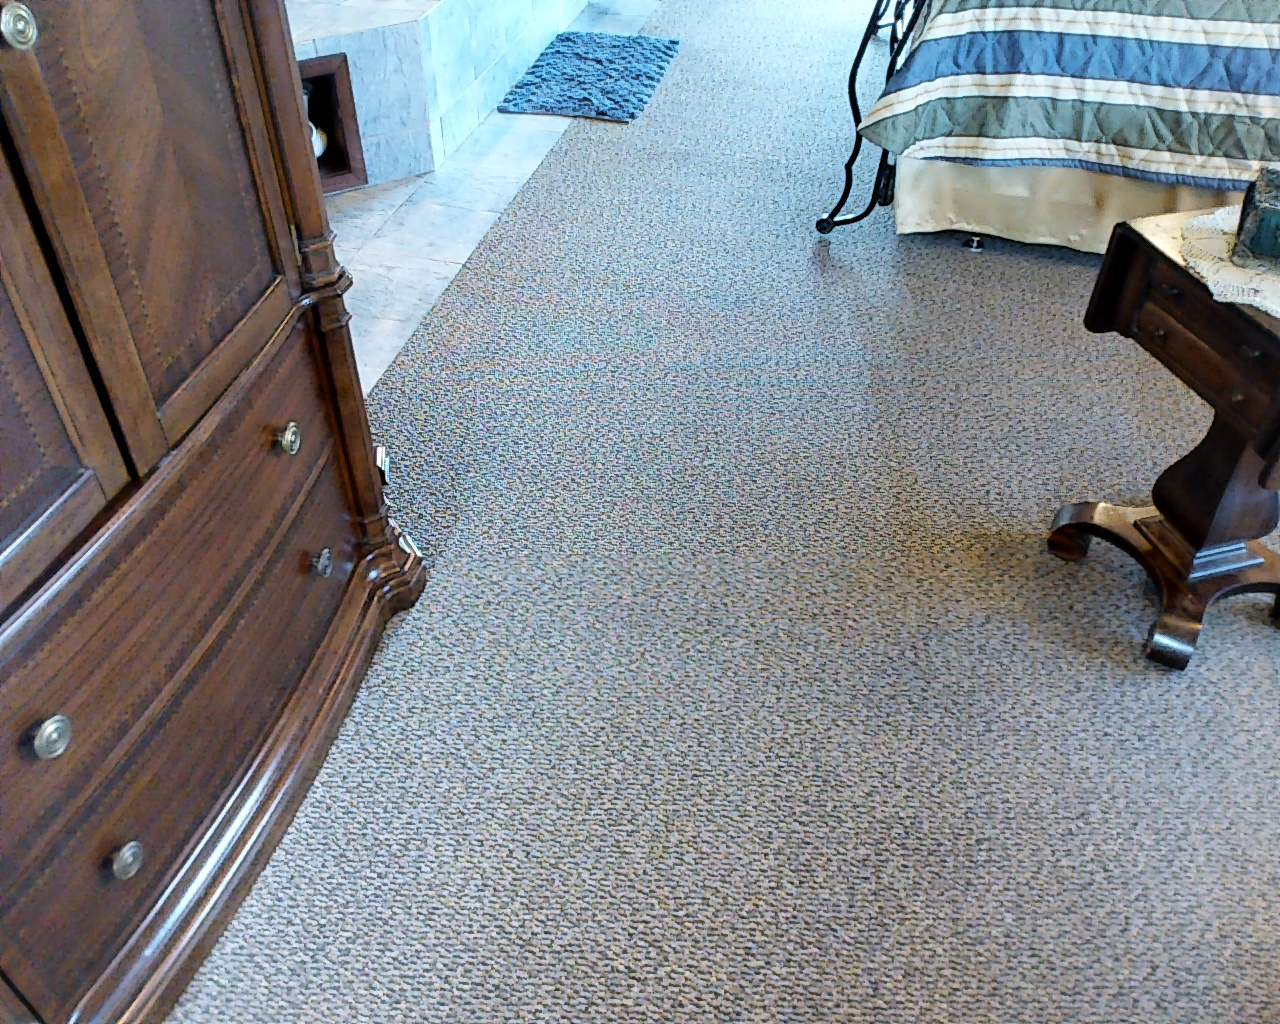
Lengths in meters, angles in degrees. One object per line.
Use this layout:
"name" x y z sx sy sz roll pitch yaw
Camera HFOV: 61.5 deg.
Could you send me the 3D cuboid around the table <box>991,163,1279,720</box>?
"table" 1.110 -0.140 1.980 0.510 0.760 0.580 -12 43 -14
